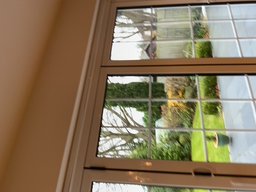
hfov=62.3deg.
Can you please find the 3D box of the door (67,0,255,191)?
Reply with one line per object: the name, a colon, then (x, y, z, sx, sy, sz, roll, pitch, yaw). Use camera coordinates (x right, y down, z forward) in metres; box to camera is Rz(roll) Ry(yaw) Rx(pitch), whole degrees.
door: (0.730, -0.040, 1.560, 0.160, 2.100, 2.370, 77, -165, -60)
